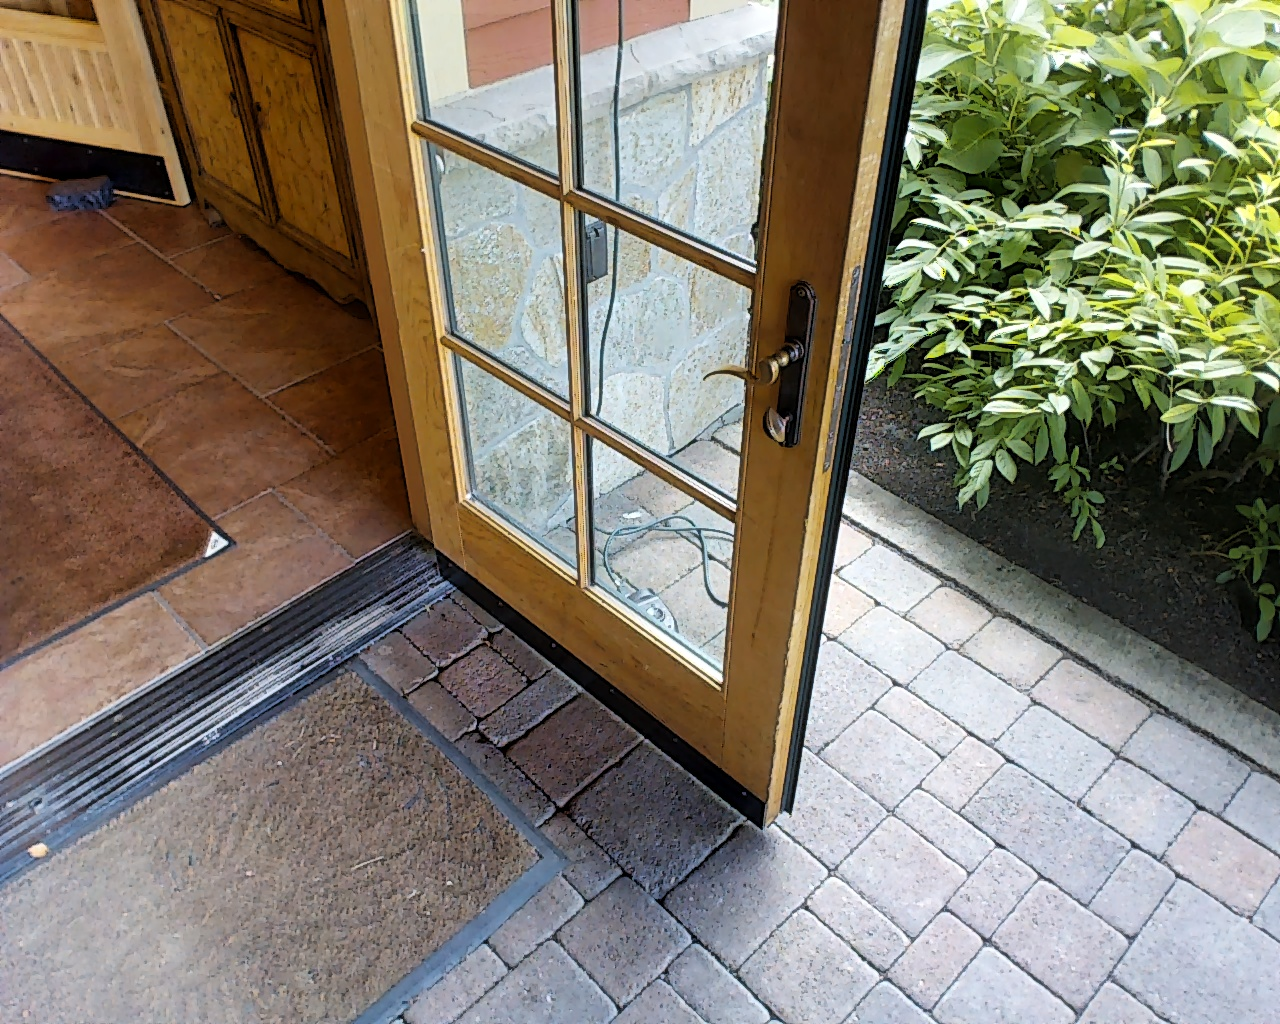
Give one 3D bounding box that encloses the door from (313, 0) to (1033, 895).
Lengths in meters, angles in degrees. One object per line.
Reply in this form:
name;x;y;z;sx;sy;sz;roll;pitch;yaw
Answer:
door;-0.050;-0.490;1.310;0.190;2.230;0.960;-33;51;-32
